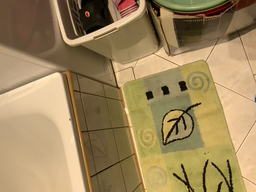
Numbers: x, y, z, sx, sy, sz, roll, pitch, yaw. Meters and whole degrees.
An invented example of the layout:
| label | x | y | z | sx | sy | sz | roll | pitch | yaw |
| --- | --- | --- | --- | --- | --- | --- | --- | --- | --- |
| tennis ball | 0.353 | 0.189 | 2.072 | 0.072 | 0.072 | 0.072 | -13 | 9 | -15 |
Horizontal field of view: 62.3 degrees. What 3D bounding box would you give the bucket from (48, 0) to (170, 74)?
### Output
| label | x | y | z | sx | sy | sz | roll | pitch | yaw |
| --- | --- | --- | --- | --- | --- | --- | --- | --- | --- |
| bucket | -0.070 | -0.440 | 1.000 | 0.360 | 0.500 | 0.500 | -15 | 80 | 16 |
